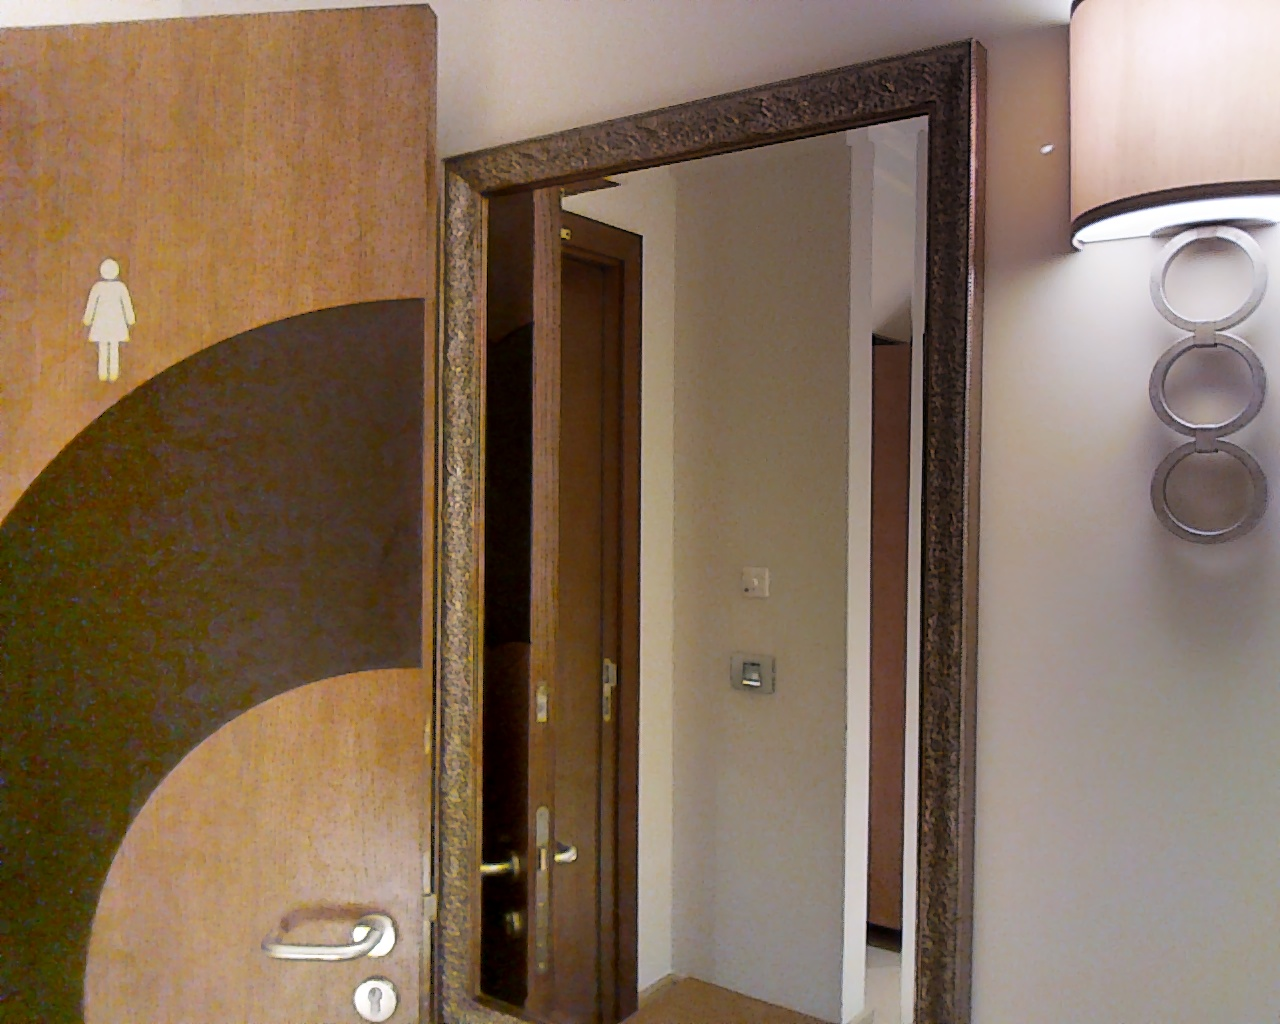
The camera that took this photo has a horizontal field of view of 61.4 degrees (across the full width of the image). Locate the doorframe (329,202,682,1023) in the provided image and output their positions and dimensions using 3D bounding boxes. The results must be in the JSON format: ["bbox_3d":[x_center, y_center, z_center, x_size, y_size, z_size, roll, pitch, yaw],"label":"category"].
[{"bbox_3d":[-0.300,0.450,2.730,0.350,2.200,0.910,1,0,36],"label":"doorframe"}]
